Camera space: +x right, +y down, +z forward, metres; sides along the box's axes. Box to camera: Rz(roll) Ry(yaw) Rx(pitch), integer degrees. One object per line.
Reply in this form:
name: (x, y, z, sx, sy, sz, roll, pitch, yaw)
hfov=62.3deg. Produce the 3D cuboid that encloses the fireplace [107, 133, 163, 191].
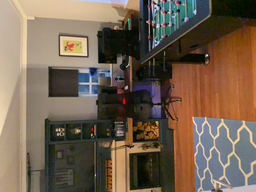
fireplace: (0.130, 1.440, 4.350, 0.410, 1.060, 1.250, 175, 95, -76)
